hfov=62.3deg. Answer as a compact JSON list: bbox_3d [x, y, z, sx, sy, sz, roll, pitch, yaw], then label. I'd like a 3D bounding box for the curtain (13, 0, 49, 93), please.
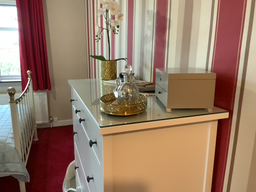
[{"bbox_3d":[-1.640,-1.020,3.590,0.430,1.910,0.170,-4,14,-18],"label":"curtain"}]
